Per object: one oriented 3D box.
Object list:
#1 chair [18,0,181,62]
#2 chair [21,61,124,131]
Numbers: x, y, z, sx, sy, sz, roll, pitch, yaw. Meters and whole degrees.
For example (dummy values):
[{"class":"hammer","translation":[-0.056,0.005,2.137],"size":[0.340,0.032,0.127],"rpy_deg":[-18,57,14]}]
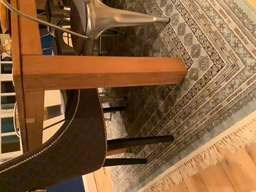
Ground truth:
[{"class":"chair","translation":[-0.180,-0.490,1.150],"size":[0.490,0.740,0.360],"rpy_deg":[-61,43,48]},{"class":"chair","translation":[-0.500,-0.010,1.860],"size":[0.490,0.740,0.340],"rpy_deg":[-61,43,48]}]
